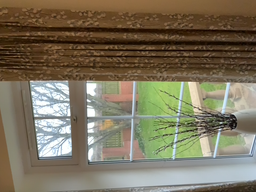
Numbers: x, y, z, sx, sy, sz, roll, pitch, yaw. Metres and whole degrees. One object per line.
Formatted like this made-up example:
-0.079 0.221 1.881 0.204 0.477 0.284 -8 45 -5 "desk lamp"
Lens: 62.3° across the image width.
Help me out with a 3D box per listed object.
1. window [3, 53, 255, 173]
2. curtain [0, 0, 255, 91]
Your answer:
0.240 0.150 1.640 0.080 2.100 0.880 -112 23 -69 "window"
0.270 -0.270 1.120 0.120 2.250 0.470 -114 25 -71 "curtain"
